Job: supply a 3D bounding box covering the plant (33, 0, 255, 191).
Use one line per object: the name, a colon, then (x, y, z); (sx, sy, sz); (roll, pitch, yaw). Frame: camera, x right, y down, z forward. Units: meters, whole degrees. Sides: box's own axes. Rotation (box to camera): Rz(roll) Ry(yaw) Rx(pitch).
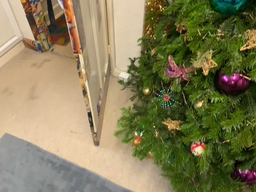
plant: (0.580, -0.360, 1.010); (1.330, 1.700, 1.260); (19, 52, 14)
